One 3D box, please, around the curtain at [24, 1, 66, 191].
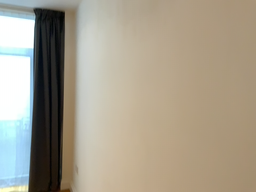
[{"bbox_3d":[-1.110,0.070,2.820,0.460,2.450,0.160,1,4,-25],"label":"curtain"}]
